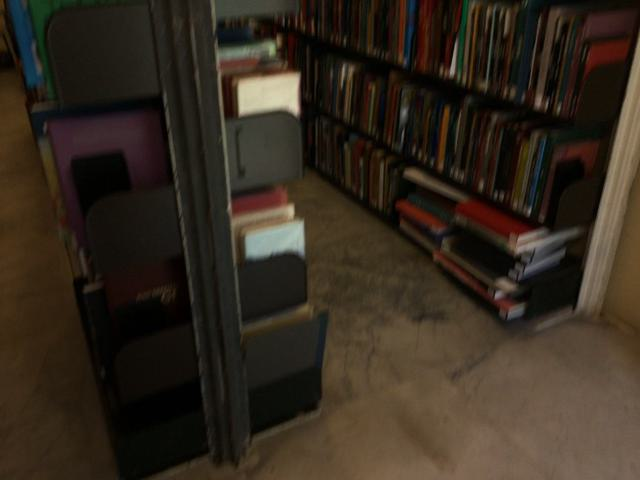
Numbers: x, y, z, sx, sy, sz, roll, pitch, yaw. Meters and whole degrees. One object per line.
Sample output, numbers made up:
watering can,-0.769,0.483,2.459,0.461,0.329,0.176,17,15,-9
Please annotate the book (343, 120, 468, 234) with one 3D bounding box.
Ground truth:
book,0.410,-0.340,2.940,0.370,0.350,0.550,-14,32,-22

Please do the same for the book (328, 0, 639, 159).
book,0.500,-0.830,2.340,0.290,0.480,1.540,-14,32,-22

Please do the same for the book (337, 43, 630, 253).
book,0.550,-0.490,2.480,0.340,0.420,1.430,-14,32,-22

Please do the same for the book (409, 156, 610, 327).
book,0.720,-0.030,2.340,0.410,0.370,0.640,-14,32,-22

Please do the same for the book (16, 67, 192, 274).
book,-0.500,-0.170,1.370,0.300,0.400,0.190,-14,32,-22

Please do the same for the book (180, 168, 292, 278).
book,-0.220,-0.050,1.540,0.250,0.210,0.130,-14,32,-22

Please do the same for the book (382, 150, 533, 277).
book,0.590,-0.140,2.590,0.390,0.310,0.530,-14,32,-22
